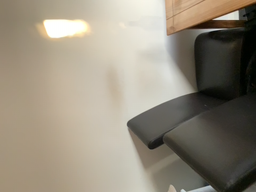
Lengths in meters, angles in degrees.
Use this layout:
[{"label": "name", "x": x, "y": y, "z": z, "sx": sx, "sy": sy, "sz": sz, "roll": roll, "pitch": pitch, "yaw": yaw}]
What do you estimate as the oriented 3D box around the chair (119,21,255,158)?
[{"label": "chair", "x": 0.550, "y": -0.110, "z": 1.450, "sx": 0.500, "sy": 1.080, "sz": 0.690, "roll": -152, "pitch": 57, "yaw": -69}]
